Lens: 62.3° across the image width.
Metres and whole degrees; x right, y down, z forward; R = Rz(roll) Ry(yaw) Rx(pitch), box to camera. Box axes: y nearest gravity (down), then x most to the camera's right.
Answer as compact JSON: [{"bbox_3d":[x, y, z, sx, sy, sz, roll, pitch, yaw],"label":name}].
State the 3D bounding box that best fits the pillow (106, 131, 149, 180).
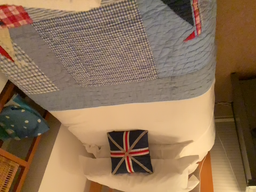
[{"bbox_3d":[0.000,0.370,1.370,0.240,0.270,0.110,0,173,22],"label":"pillow"}]
